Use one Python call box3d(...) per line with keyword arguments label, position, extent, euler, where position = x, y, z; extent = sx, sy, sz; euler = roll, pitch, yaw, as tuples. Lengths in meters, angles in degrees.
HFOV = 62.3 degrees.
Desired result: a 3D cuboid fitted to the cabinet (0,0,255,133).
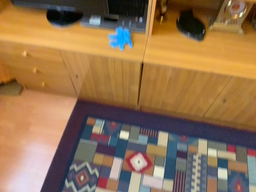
box3d(label="cabinet", position=(0.110, -0.260, 1.450), extent=(1.870, 0.580, 0.500), euler=(11, 59, 5))
